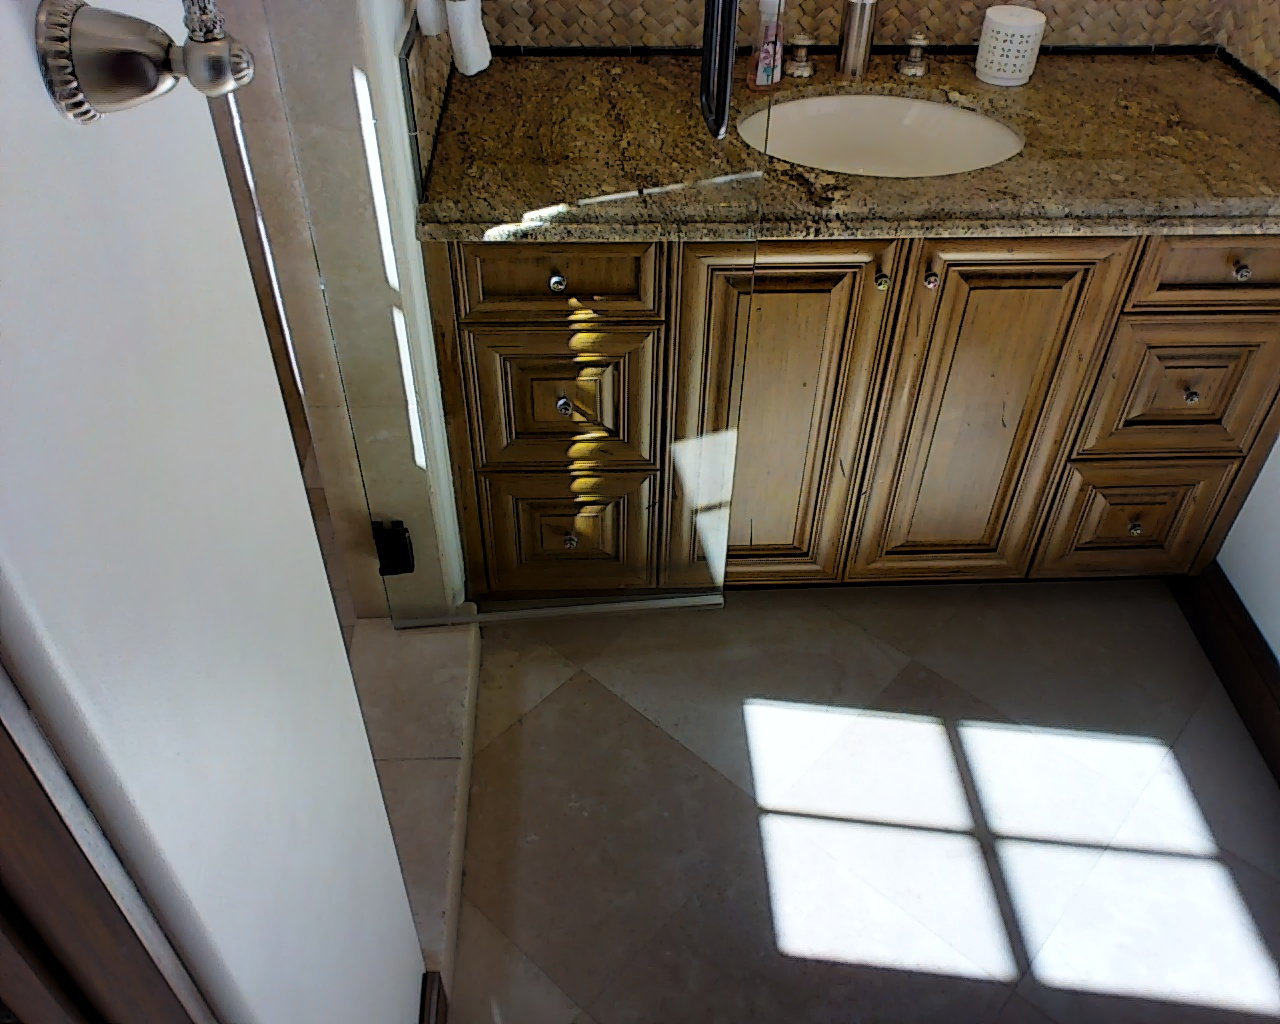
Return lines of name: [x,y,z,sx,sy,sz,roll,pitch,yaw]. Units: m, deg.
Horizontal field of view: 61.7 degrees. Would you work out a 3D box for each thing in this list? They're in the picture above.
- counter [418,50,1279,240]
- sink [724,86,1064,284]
counter: [0.400,-0.630,1.770,1.450,0.020,0.670,-2,42,-2]
sink: [0.400,-0.560,1.810,0.470,0.180,0.360,-2,42,-2]
